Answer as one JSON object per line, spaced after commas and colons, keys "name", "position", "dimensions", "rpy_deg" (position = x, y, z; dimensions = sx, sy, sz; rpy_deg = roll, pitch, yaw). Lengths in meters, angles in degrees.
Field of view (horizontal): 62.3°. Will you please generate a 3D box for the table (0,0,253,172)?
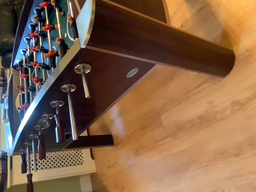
{"name": "table", "position": [-0.320, -0.190, 1.550], "dimensions": [1.700, 0.880, 0.920], "rpy_deg": [-42, 54, 42]}
